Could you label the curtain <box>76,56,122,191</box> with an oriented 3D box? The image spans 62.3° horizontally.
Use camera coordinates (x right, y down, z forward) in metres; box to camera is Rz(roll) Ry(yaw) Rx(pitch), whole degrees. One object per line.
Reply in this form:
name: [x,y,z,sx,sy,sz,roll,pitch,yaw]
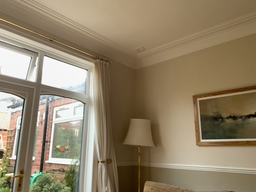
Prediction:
curtain: [-0.370,0.770,2.820,0.220,2.550,0.540,-10,-18,38]
